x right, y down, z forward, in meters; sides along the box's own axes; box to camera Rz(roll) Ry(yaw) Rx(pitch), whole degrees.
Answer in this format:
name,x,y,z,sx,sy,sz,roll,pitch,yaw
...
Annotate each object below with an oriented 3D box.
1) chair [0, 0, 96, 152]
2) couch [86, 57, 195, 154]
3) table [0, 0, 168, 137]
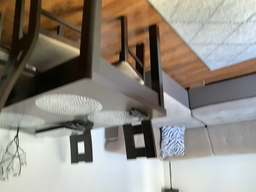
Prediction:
name,x,y,z,sx,sy,sz,roll,pitch,yaw
chair,-0.540,-0.180,1.450,0.450,1.040,0.400,17,153,-39
couch,0.150,0.220,2.740,1.030,0.890,0.840,-16,155,34
table,-0.450,-0.180,1.780,1.290,0.800,0.750,-16,155,34
